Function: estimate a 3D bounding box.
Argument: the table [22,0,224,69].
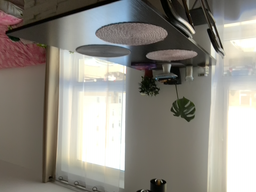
[{"bbox_3d":[0.170,-0.830,1.540,0.690,1.040,1.520,1,179,35],"label":"table"}]
